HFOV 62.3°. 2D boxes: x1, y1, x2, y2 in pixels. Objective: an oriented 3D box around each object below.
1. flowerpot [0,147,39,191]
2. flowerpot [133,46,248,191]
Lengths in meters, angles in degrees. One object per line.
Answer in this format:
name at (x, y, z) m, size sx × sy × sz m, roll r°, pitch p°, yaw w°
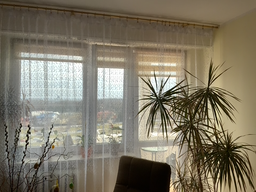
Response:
flowerpot at (-1.060, 1.050, 1.980) m, size 0.370 × 1.030 × 0.400 m, roll 1°, pitch 0°, yaw -18°
flowerpot at (0.710, 0.560, 2.320) m, size 0.890 × 1.900 × 0.990 m, roll 0°, pitch 0°, yaw 39°
